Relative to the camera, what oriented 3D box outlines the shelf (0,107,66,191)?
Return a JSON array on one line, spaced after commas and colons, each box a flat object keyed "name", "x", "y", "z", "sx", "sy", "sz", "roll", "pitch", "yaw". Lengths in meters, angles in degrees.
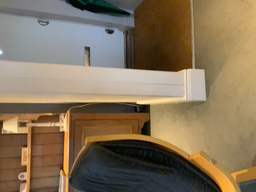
[{"name": "shelf", "x": -1.140, "y": 0.600, "z": 1.930, "sx": 0.340, "sy": 1.060, "sz": 1.000, "roll": 174, "pitch": 97, "yaw": -68}]
